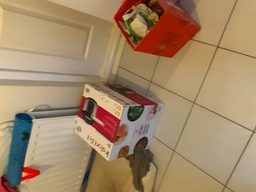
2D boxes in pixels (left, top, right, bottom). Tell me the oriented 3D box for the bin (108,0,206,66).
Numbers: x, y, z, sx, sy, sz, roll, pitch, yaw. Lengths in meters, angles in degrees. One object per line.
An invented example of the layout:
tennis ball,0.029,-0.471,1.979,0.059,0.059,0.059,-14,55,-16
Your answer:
bin,0.160,-0.400,1.190,0.330,0.340,0.280,-47,61,31

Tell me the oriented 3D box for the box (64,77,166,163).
box,-0.090,0.120,1.380,0.430,0.410,0.340,28,109,38
